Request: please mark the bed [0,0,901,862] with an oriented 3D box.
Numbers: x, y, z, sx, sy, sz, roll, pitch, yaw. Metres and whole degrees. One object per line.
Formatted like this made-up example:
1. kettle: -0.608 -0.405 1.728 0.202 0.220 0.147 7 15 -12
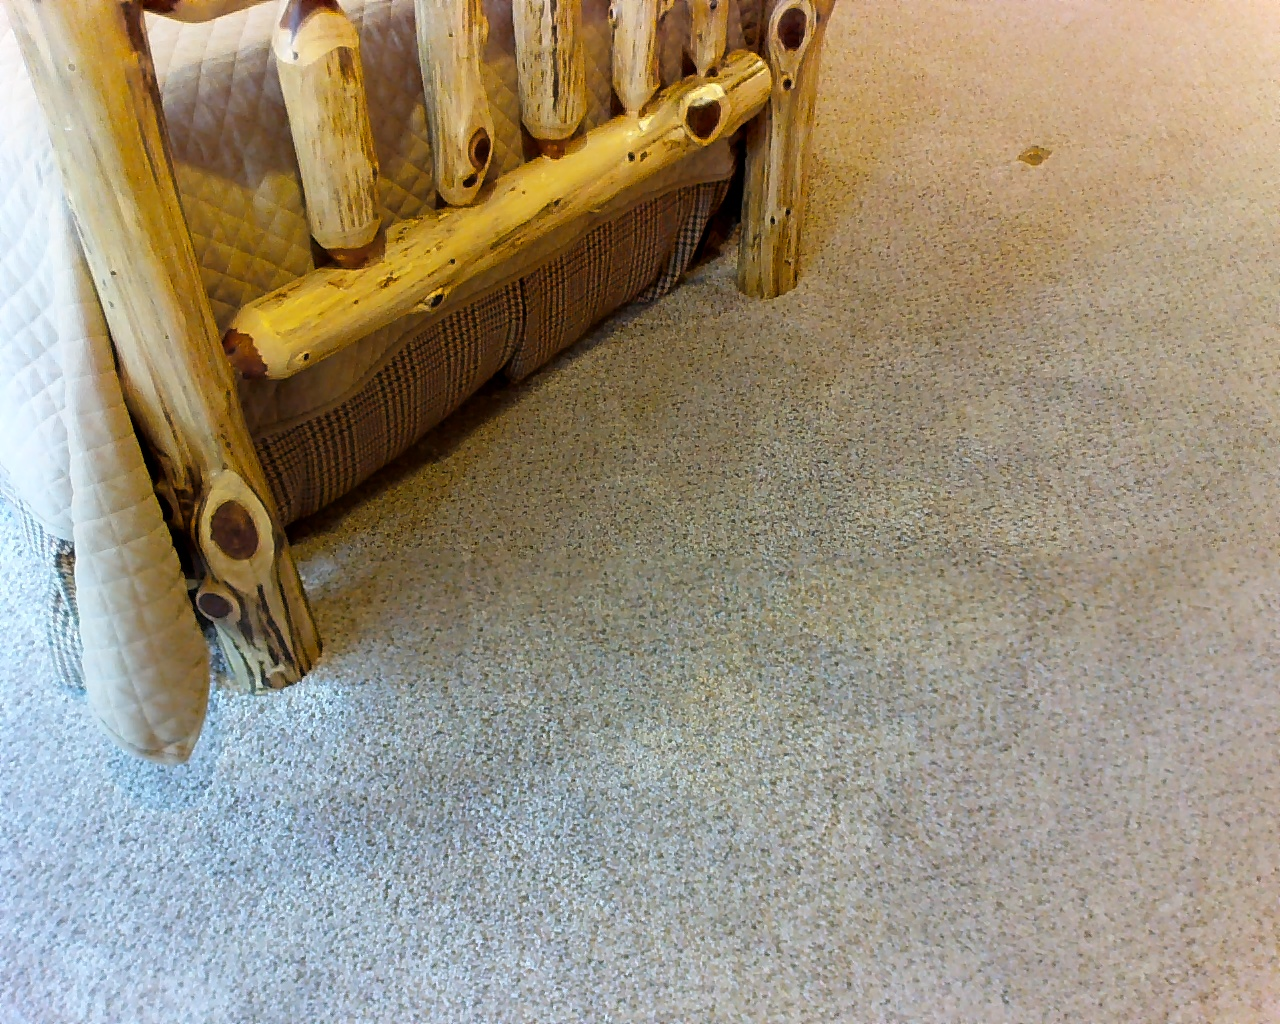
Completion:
1. bed: -0.200 -0.490 1.540 0.340 1.020 1.750 28 49 27
